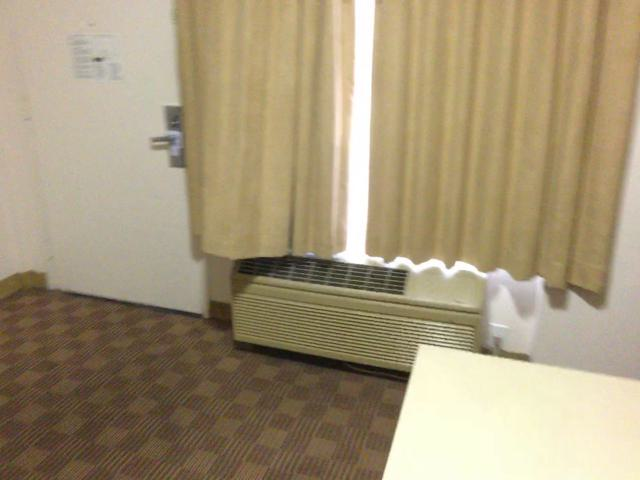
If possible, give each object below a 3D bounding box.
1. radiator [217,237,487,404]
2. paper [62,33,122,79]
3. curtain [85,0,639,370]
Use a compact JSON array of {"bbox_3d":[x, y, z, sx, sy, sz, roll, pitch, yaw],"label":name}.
[{"bbox_3d":[0.110,0.310,2.390,1.070,0.510,0.190,6,17,15],"label":"radiator"},{"bbox_3d":[-1.030,-0.830,2.610,0.260,0.190,0.050,6,17,15],"label":"paper"},{"bbox_3d":[0.130,-0.340,2.200,1.890,1.250,0.530,6,17,15],"label":"curtain"}]
